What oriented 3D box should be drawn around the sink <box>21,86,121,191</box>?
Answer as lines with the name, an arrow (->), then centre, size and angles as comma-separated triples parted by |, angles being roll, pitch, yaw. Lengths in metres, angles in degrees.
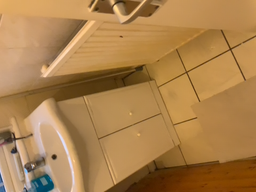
sink -> -0.330, 0.290, 1.120 | 0.440, 0.190, 0.540 | -28, 80, 46
